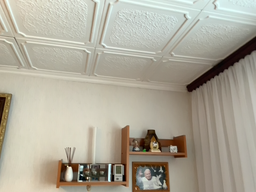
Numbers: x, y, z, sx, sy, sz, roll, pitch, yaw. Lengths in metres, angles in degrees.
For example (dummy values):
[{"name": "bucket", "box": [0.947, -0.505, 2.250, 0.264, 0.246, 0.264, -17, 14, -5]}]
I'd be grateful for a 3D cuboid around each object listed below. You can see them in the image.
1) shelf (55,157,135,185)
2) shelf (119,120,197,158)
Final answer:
[{"name": "shelf", "box": [-0.250, 0.590, 1.670, 0.590, 0.190, 0.150, 5, -19, -13]}, {"name": "shelf", "box": [0.260, 0.390, 1.880, 0.650, 0.300, 0.150, 4, -19, -12]}]
